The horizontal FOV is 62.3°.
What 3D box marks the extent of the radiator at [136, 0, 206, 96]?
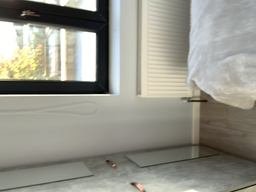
[{"bbox_3d":[0.370,-0.640,1.740,0.100,0.630,1.280,3,93,64],"label":"radiator"}]
